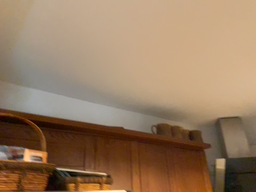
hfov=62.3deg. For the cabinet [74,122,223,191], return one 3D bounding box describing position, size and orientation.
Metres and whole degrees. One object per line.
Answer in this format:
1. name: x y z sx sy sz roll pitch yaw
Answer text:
1. cabinet: 0.260 0.780 1.880 1.400 0.820 0.370 15 -30 -33
